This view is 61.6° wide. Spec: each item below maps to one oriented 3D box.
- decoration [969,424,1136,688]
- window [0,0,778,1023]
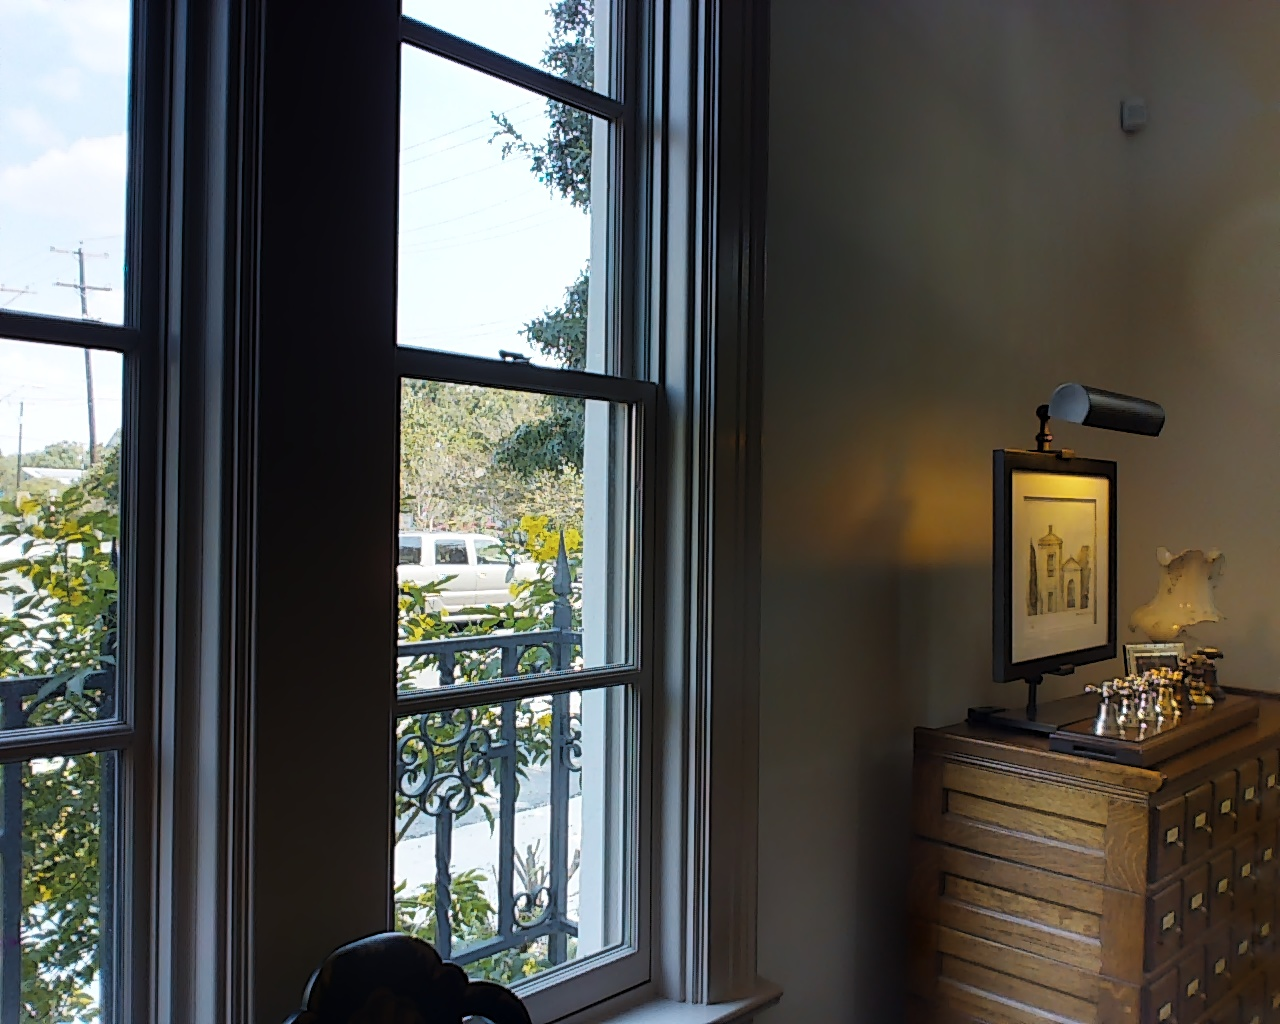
[{"bbox_3d":[0.820,0.080,2.100,0.090,0.460,0.540,1,0,44],"label":"decoration"},{"bbox_3d":[-0.880,-0.250,0.840,0.230,2.180,2.920,1,0,44],"label":"window"}]
